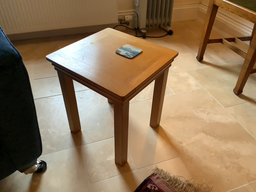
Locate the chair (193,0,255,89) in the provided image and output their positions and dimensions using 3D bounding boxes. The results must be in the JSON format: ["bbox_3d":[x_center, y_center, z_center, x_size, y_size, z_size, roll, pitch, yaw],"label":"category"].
[{"bbox_3d":[0.830,-0.590,1.230,0.530,0.930,0.460,-12,42,-15],"label":"chair"}]

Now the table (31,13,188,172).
[{"bbox_3d":[-0.070,-0.050,0.950,0.410,0.430,0.440,33,49,32],"label":"table"}]
